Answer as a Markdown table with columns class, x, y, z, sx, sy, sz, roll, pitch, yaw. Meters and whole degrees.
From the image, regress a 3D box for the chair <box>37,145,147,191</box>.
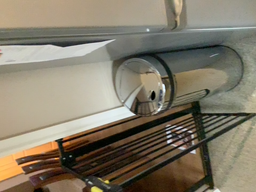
| class | x | y | z | sx | sy | sz | roll | pitch | yaw |
| --- | --- | --- | --- | --- | --- | --- | --- | --- | --- |
| chair | -0.390 | 0.980 | 2.380 | 0.550 | 1.000 | 0.480 | -9 | 94 | 55 |

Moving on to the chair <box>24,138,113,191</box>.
| class | x | y | z | sx | sy | sz | roll | pitch | yaw |
| --- | --- | --- | --- | --- | --- | --- | --- | --- | --- |
| chair | -0.810 | 1.010 | 2.960 | 0.550 | 1.000 | 0.470 | -3 | 99 | 54 |
